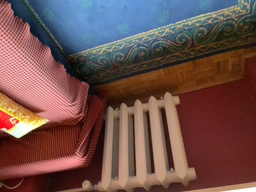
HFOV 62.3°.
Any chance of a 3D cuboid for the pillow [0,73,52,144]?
[{"bbox_3d":[-0.680,0.010,1.010,0.250,0.130,0.640,-15,139,16],"label":"pillow"}]
